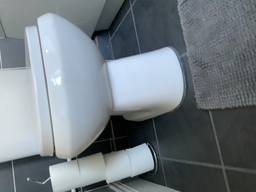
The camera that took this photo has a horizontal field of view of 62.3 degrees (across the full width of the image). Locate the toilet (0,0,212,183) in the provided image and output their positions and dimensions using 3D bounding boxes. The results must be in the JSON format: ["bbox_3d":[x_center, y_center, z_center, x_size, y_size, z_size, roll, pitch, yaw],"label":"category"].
[{"bbox_3d":[-0.300,0.020,0.780,0.710,0.810,0.390,154,107,-66],"label":"toilet"}]
